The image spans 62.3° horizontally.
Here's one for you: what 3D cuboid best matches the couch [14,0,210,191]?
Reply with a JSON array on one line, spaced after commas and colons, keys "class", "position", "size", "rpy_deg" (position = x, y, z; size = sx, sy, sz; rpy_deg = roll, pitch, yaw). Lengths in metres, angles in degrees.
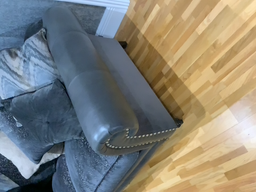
[{"class": "couch", "position": [-0.560, 0.590, 2.100], "size": [1.070, 0.760, 2.620], "rpy_deg": [57, 137, 31]}]
